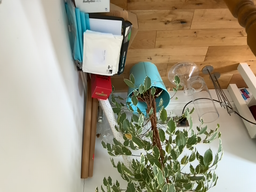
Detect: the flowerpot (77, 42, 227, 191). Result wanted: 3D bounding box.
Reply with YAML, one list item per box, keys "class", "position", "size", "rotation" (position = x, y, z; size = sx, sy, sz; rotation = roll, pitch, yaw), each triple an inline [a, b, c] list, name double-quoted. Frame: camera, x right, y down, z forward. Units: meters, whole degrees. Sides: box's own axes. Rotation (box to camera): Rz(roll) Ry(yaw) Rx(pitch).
- class: "flowerpot"
  position: [0.070, 0.280, 1.150]
  size: [0.550, 1.290, 0.460]
  rotation: [-2, 138, -3]
